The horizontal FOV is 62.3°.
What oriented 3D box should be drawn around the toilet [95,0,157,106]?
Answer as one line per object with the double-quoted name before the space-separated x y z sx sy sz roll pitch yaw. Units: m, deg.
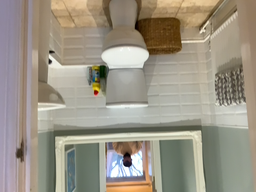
"toilet" -0.030 -0.340 1.710 0.380 0.800 0.660 -2 175 -2
